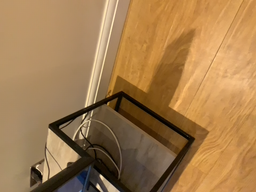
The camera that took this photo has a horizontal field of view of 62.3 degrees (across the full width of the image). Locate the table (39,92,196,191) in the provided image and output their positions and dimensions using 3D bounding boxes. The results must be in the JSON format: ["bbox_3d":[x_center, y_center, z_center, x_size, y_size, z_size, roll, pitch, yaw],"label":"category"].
[{"bbox_3d":[-0.140,0.560,1.060,0.420,0.410,1.020,33,124,21],"label":"table"}]
